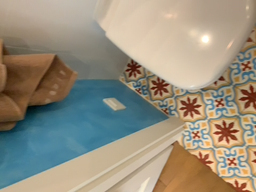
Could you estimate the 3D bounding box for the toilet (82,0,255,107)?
[{"bbox_3d":[0.140,-0.270,0.770,0.540,0.210,0.340,39,113,23],"label":"toilet"}]
